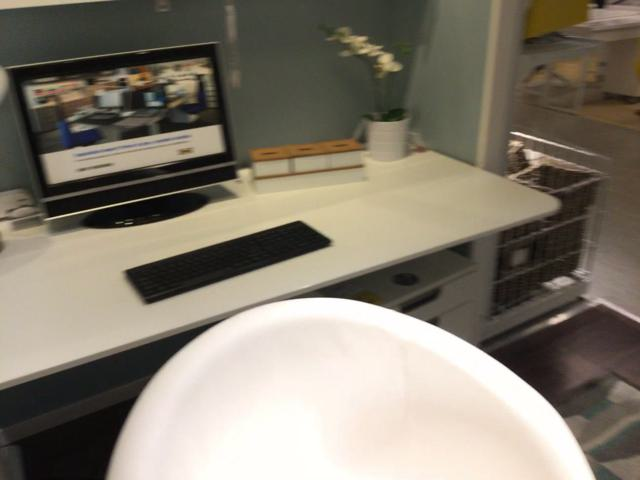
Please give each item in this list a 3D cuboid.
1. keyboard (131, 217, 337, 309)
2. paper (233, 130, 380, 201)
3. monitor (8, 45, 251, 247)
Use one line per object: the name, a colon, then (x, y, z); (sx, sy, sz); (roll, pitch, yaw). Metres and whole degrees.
keyboard: (-0.190, 0.040, 1.310); (0.430, 0.030, 0.170); (-17, 27, -25)
paper: (-0.040, -0.230, 1.730); (0.400, 0.110, 0.170); (-11, 25, -14)
monitor: (-0.470, -0.260, 1.510); (0.510, 0.410, 0.150); (-17, 27, -25)
